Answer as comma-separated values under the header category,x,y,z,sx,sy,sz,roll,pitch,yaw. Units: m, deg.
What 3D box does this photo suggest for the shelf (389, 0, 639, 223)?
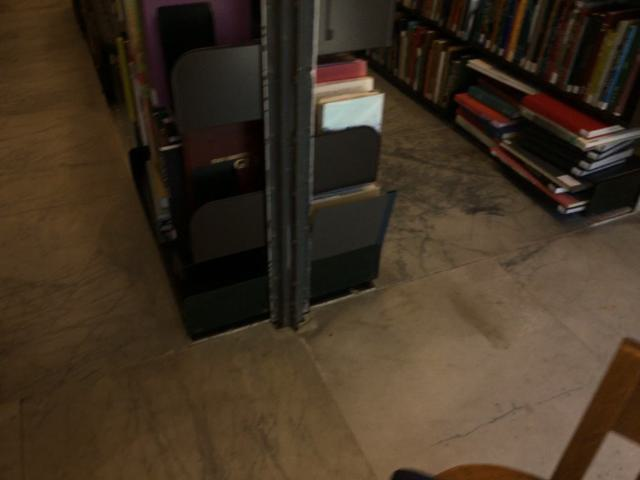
category,x,y,z,sx,sy,sz,roll,pitch,yaw
shelf,0.870,-1.250,2.110,0.410,1.810,1.500,-14,40,-18
